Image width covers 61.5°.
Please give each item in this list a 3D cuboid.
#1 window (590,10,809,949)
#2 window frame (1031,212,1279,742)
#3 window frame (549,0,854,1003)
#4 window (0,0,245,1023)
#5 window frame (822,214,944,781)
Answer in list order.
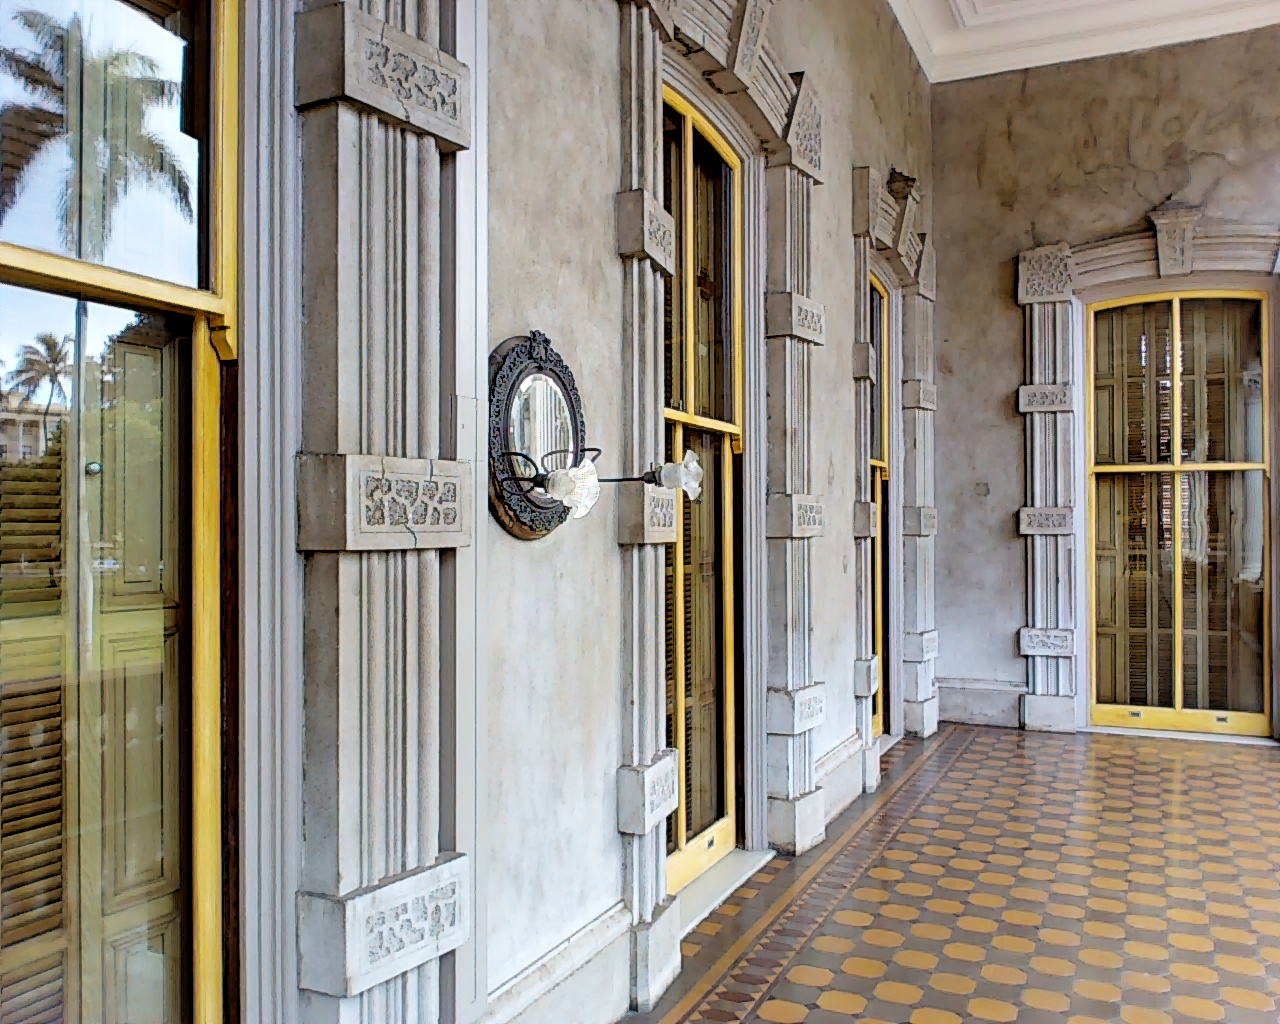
[{"bbox_3d":[0.310,-0.120,4.620,0.420,3.410,1.380,-1,0,25],"label":"window"},{"bbox_3d":[4.069,-0.240,7.960,2.150,3.730,0.350,-1,0,25],"label":"window frame"},{"bbox_3d":[0.380,-0.330,4.590,0.510,3.871,2.130,-1,0,25],"label":"window frame"},{"bbox_3d":[-1.150,-0.080,1.780,0.190,3.200,1.100,-1,0,25],"label":"window"},{"bbox_3d":[1.730,-0.090,7.470,0.400,3.450,1.860,-1,0,25],"label":"window frame"}]
